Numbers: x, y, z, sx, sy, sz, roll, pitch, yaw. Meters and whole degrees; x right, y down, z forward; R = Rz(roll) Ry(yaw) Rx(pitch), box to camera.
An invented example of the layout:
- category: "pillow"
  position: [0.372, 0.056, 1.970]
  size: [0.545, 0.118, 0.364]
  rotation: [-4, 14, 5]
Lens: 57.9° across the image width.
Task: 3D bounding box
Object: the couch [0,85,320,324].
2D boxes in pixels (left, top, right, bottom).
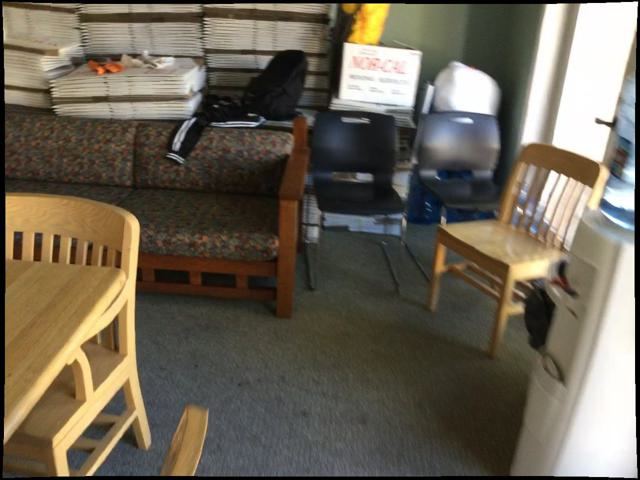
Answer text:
- category: "couch"
  position: [-1.009, -0.250, 3.040]
  size: [1.918, 0.821, 0.980]
  rotation: [4, 26, 2]
